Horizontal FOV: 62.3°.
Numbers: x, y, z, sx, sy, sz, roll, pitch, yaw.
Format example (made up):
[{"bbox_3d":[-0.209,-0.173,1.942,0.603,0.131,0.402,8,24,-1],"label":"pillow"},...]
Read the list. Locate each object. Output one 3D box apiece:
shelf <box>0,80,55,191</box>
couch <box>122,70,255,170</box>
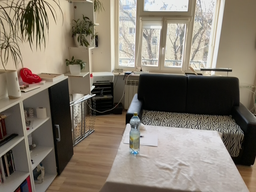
[{"bbox_3d":[-1.000,0.480,1.790,0.270,1.030,0.900,4,18,8],"label":"shelf"},{"bbox_3d":[0.750,0.230,2.880,1.500,0.920,0.910,5,18,10],"label":"couch"}]
